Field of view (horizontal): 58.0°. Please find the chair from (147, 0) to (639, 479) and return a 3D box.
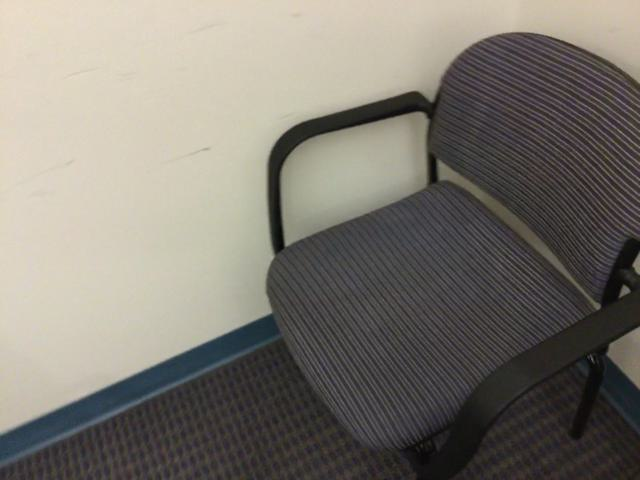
[{"bbox_3d":[0.160,0.040,1.020,0.620,0.670,0.640,-20,44,-19],"label":"chair"}]
